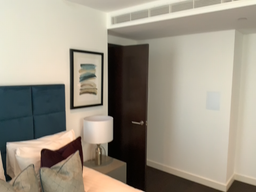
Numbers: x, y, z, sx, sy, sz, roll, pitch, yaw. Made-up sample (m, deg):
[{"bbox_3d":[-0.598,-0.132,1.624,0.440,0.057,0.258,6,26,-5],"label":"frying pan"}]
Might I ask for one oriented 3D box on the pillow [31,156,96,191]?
[{"bbox_3d":[-0.490,0.650,1.650,0.200,0.300,0.420,2,-9,35],"label":"pillow"}]
